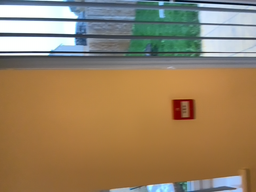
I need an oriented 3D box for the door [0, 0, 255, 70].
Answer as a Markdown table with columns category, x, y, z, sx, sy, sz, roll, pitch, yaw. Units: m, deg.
| category | x | y | z | sx | sy | sz | roll | pitch | yaw |
| --- | --- | --- | --- | --- | --- | --- | --- | --- | --- |
| door | 0.290 | -0.700 | 1.090 | 0.150 | 2.130 | 1.120 | 158 | 111 | -79 |
